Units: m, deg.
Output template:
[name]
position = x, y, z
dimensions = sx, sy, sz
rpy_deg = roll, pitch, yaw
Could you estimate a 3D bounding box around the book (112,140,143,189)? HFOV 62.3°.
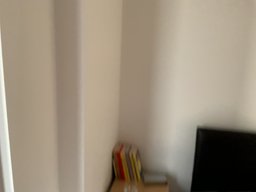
[book]
position = 0.000, 0.490, 1.540
dimensions = 0.190, 0.260, 0.180
rpy_deg = 5, 13, 10
